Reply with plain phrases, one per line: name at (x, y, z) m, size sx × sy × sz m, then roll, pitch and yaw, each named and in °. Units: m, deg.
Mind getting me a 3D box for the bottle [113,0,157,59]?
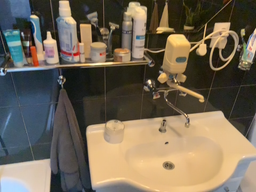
bottle at (0.020, -0.300, 0.920) m, size 0.120 × 0.210 × 0.180 m, roll -8°, pitch 34°, yaw -17°
